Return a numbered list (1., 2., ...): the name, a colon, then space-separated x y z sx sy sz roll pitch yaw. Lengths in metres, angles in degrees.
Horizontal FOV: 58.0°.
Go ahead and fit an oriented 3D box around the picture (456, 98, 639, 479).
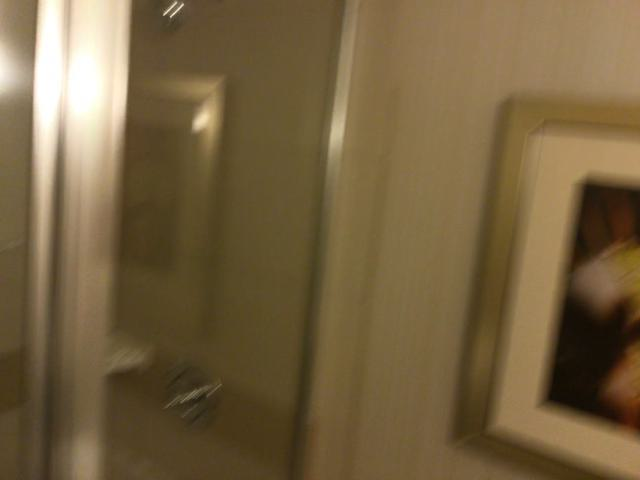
1. picture: 0.490 0.120 0.870 0.470 0.610 0.040 15 12 33
